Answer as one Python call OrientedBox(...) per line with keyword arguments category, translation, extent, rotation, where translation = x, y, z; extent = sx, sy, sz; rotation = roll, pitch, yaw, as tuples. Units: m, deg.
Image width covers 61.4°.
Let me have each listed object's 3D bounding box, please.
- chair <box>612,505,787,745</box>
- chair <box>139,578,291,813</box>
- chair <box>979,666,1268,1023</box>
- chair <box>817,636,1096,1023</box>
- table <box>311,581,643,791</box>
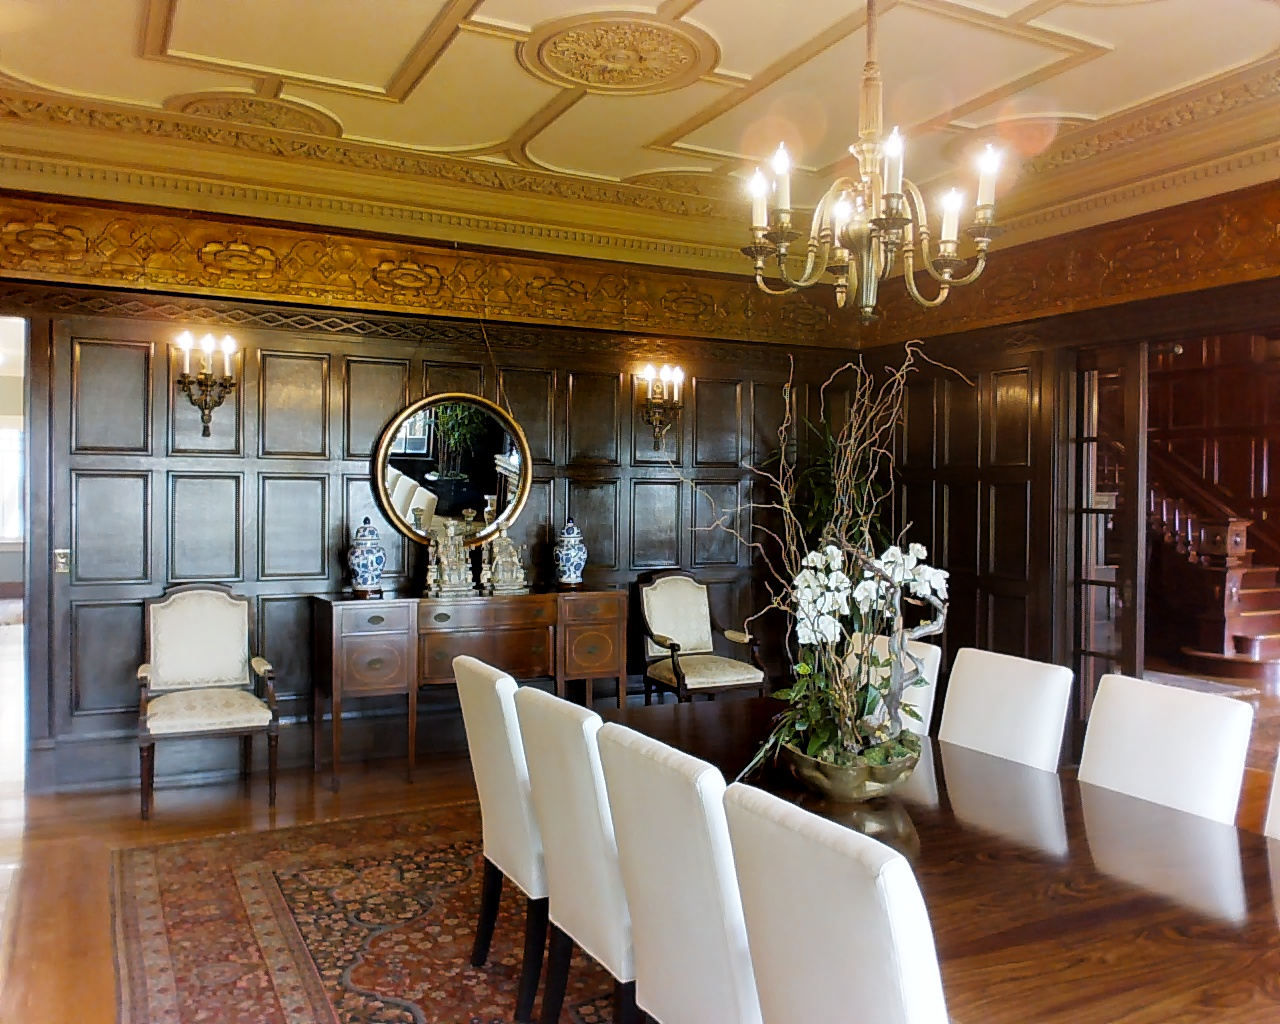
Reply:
OrientedBox(category="chair", translation=(0.360, 0.660, 6.840), extent=(0.780, 1.390, 0.840), rotation=(0, 1, -26))
OrientedBox(category="chair", translation=(-2.220, 0.900, 5.590), extent=(0.670, 1.040, 0.750), rotation=(0, 1, -26))
OrientedBox(category="chair", translation=(1.320, 0.990, 2.980), extent=(0.490, 1.020, 0.520), rotation=(0, 1, -26))
OrientedBox(category="chair", translation=(1.010, 0.970, 3.500), extent=(0.620, 1.030, 0.590), rotation=(0, 1, -26))
OrientedBox(category="table", translation=(-0.940, 0.950, 6.300), extent=(1.790, 0.990, 0.680), rotation=(0, 1, -26))
